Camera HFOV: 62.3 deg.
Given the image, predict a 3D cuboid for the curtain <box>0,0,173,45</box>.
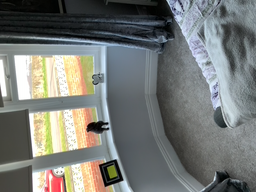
[{"bbox_3d":[-0.690,-0.720,2.030,0.190,2.390,0.420,115,143,-50],"label":"curtain"}]
